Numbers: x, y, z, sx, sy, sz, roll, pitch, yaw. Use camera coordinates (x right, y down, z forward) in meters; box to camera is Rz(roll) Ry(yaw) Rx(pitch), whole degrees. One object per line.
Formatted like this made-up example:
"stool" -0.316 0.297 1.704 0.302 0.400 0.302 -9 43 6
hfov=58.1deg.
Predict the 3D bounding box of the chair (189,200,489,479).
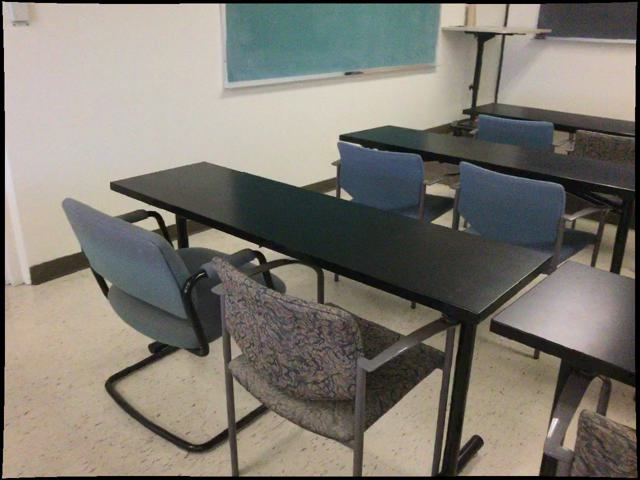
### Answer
"chair" 0.050 0.381 1.680 0.579 0.772 0.549 20 30 38

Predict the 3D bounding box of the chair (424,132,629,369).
"chair" 0.898 0.000 2.570 0.569 0.792 0.589 20 30 38

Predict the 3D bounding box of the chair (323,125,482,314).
"chair" 0.409 -0.140 2.960 0.549 0.742 0.560 18 29 36
